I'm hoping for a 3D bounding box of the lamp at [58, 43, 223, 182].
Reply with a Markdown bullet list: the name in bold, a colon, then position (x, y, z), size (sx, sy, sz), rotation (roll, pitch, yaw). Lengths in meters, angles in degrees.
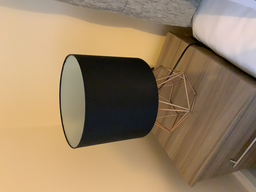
- **lamp**: position (0.010, 0.030, 0.680), size (0.300, 0.380, 0.250), rotation (56, 137, 45)
